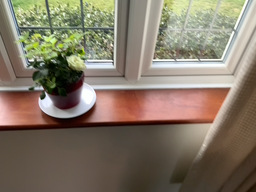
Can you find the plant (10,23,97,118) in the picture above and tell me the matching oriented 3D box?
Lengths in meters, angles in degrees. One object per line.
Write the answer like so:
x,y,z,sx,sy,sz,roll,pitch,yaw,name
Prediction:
-0.230,-0.090,0.760,0.220,0.240,0.240,0,43,-6,plant
